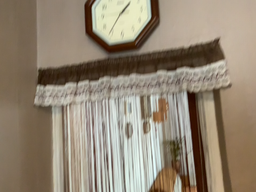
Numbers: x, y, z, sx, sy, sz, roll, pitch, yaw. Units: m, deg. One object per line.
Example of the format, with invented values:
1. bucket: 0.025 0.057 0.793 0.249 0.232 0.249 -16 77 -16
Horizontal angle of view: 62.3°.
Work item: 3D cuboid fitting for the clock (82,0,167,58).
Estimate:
1. clock: -0.020 -0.330 0.840 0.310 0.300 0.080 -5 -6 16
